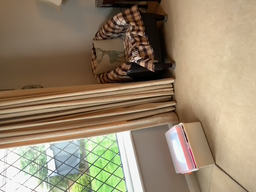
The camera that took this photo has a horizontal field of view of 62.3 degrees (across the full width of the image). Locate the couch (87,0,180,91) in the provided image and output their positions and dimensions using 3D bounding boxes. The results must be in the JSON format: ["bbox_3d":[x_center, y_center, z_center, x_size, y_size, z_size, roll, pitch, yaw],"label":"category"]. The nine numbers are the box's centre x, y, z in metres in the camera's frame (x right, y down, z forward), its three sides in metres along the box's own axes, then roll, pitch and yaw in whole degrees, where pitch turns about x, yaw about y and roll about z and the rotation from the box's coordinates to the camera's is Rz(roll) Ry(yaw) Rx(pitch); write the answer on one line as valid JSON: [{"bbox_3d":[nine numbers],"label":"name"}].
[{"bbox_3d":[0.000,-0.510,2.390,0.730,0.750,0.690,140,123,-67],"label":"couch"}]
